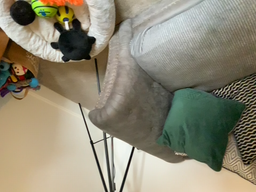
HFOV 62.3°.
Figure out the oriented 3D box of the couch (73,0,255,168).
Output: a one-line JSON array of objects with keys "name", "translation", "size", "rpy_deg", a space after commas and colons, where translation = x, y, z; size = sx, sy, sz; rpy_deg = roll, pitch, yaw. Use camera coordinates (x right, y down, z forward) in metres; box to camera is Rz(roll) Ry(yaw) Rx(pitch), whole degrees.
[{"name": "couch", "translation": [0.710, -0.190, 1.280], "size": [1.670, 0.730, 1.120], "rpy_deg": [-22, 144, 26]}]
